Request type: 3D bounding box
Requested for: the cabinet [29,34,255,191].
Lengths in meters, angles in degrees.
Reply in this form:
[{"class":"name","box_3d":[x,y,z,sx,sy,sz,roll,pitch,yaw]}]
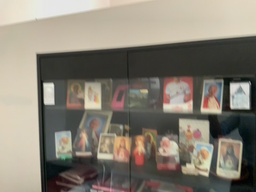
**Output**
[{"class":"cabinet","box_3d":[0.070,0.440,0.970,0.800,1.250,0.450,0,5,21]}]
